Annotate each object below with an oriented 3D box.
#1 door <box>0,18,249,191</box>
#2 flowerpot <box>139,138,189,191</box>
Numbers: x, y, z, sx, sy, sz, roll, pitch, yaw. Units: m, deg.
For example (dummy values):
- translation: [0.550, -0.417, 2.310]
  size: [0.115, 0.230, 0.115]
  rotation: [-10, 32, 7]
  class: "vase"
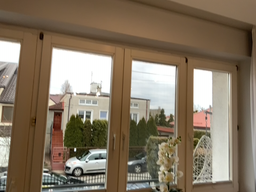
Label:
- translation: [-0.110, 0.240, 1.800]
  size: [2.930, 1.430, 0.140]
  rotation: [5, -6, -21]
  class: "door"
- translation: [0.310, 0.690, 1.880]
  size: [0.320, 0.590, 0.290]
  rotation: [5, -6, -19]
  class: "flowerpot"
